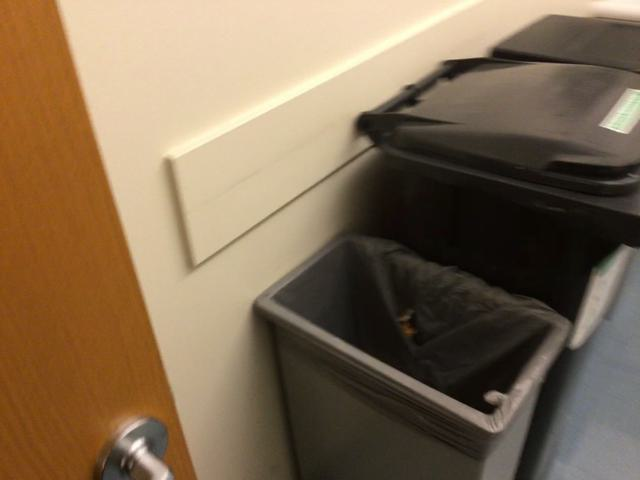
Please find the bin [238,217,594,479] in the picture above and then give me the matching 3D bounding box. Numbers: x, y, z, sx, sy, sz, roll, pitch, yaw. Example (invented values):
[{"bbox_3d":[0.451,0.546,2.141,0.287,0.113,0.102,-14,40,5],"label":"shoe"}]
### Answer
[{"bbox_3d":[0.190,0.430,1.210,0.490,0.780,0.350,22,43,36],"label":"bin"}]
